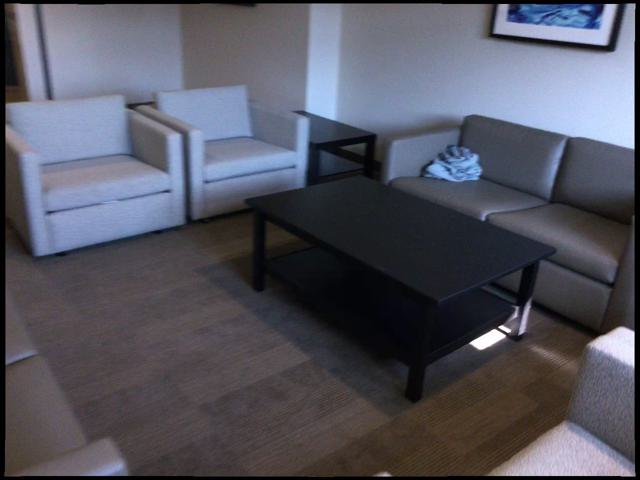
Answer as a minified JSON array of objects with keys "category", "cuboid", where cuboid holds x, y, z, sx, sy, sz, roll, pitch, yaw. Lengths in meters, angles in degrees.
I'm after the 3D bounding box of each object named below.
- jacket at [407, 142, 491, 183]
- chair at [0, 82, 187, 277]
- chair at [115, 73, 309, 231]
[{"category":"jacket","cuboid":[0.768,-0.471,3.470,0.399,0.160,0.290,-2,26,-10]},{"category":"chair","cuboid":[-1.397,-0.411,3.250,0.959,0.741,0.800,-17,32,-37]},{"category":"chair","cuboid":[-0.709,-0.641,3.840,0.929,0.721,0.830,-17,32,-37]}]
